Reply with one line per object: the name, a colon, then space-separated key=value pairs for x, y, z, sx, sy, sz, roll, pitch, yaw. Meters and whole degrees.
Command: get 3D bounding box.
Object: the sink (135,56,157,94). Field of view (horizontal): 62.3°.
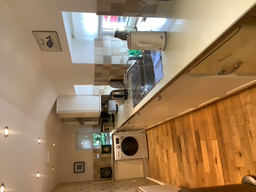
sink: x=0.180 y=-0.210 z=2.160 sx=0.180 sy=0.160 sz=0.350 roll=126 pitch=142 yaw=-72
